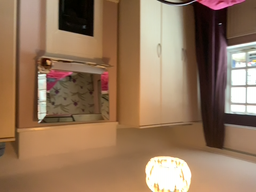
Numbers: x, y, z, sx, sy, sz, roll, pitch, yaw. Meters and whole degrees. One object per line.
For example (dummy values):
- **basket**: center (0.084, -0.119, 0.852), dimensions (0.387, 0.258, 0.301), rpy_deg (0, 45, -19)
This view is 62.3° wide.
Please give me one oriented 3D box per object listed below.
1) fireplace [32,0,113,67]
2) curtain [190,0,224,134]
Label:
- **fireplace**: center (-0.720, -1.010, 2.830), dimensions (0.970, 1.120, 0.360), rpy_deg (0, -179, -36)
- **curtain**: center (1.240, -0.440, 3.340), dimensions (0.320, 1.990, 0.360), rpy_deg (0, -179, -38)
